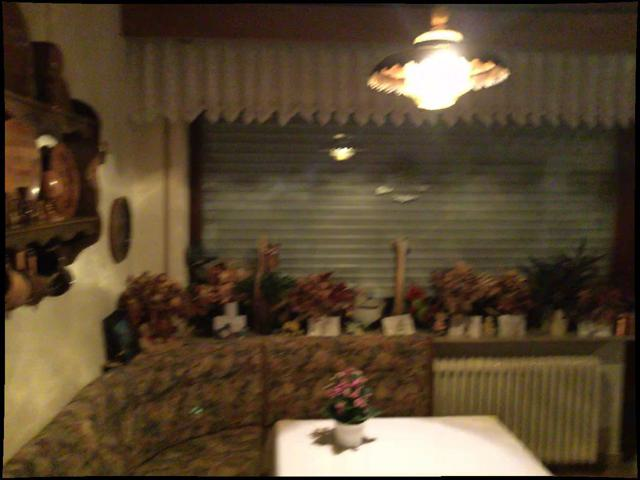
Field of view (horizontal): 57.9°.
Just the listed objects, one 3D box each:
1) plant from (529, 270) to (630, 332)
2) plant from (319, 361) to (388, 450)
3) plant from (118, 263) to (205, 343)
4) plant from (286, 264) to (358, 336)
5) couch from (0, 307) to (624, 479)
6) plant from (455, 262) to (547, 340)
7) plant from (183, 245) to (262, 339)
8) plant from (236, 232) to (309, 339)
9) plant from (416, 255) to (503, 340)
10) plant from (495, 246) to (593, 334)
[{"bbox_3d":[1.419,0.330,3.190,0.390,0.280,0.320,1,6,-4],"label":"plant"},{"bbox_3d":[0.110,0.561,1.980,0.210,0.240,0.180,1,6,-3],"label":"plant"},{"bbox_3d":[-0.749,0.290,2.800,0.310,0.290,0.480,1,6,-3],"label":"plant"},{"bbox_3d":[0.000,0.310,3.080,0.360,0.320,0.320,1,6,-4],"label":"plant"},{"bbox_3d":[-0.110,0.941,2.060,1.548,0.921,2.300,1,6,-3],"label":"couch"},{"bbox_3d":[0.969,0.320,3.140,0.370,0.360,0.330,1,6,-4],"label":"plant"},{"bbox_3d":[-0.499,0.260,3.040,0.370,0.430,0.350,1,6,-4],"label":"plant"},{"bbox_3d":[-0.250,0.230,3.060,0.360,0.511,0.310,1,6,-4],"label":"plant"},{"bbox_3d":[0.739,0.300,3.120,0.350,0.390,0.360,1,6,-4],"label":"plant"},{"bbox_3d":[1.209,0.260,3.160,0.370,0.420,0.350,1,6,-4],"label":"plant"}]
